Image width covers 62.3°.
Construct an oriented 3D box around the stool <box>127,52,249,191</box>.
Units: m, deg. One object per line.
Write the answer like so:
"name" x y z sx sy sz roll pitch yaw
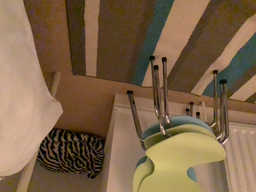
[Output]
"stool" 0.220 0.220 0.980 0.340 0.680 0.410 10 149 -7
